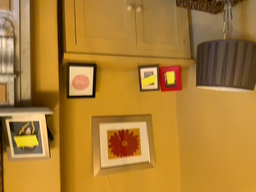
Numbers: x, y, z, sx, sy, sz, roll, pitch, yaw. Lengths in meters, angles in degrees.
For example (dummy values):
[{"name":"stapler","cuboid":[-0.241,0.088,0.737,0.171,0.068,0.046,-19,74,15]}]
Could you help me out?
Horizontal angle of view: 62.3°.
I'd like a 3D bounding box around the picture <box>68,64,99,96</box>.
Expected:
[{"name":"picture","cuboid":[-0.380,-0.130,1.800,0.230,0.250,0.120,-1,179,-25]}]
